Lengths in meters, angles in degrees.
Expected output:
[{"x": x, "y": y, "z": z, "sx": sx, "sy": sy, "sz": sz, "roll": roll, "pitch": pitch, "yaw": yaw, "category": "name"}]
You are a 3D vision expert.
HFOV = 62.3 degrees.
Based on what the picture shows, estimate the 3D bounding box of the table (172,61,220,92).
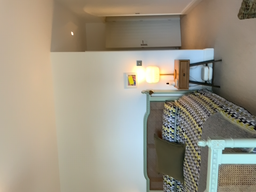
[{"x": 1.010, "y": -0.310, "z": 3.240, "sx": 0.400, "sy": 0.590, "sz": 0.440, "roll": -80, "pitch": -11, "yaw": -81, "category": "table"}]
